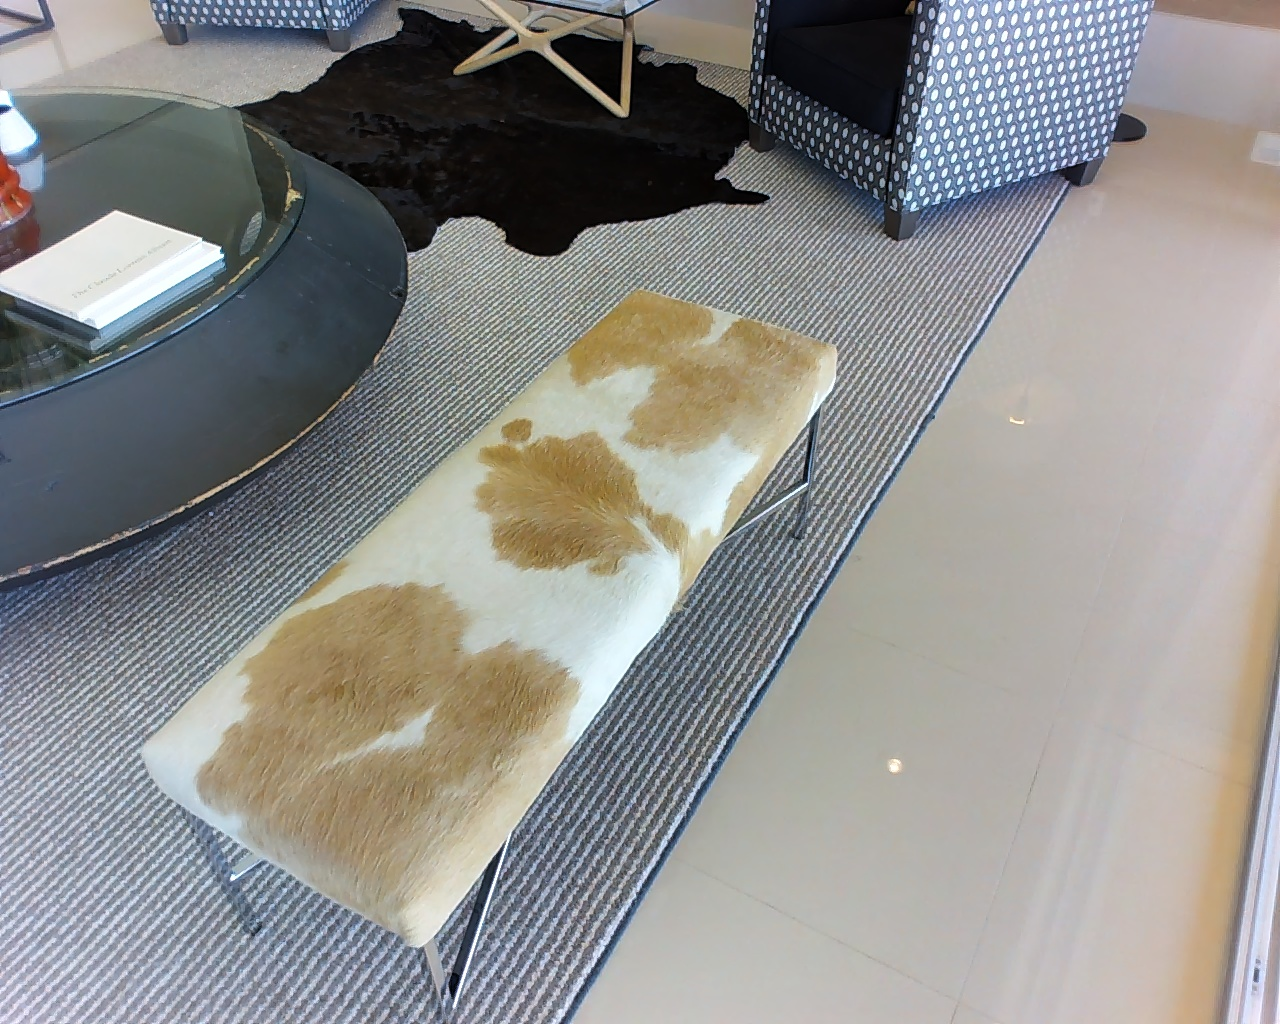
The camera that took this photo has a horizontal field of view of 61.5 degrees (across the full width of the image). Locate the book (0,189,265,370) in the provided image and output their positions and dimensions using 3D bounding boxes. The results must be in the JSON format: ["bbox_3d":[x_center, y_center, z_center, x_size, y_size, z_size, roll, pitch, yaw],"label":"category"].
[{"bbox_3d":[-1.040,-0.470,2.100,0.390,0.070,0.430,22,47,22],"label":"book"}]
